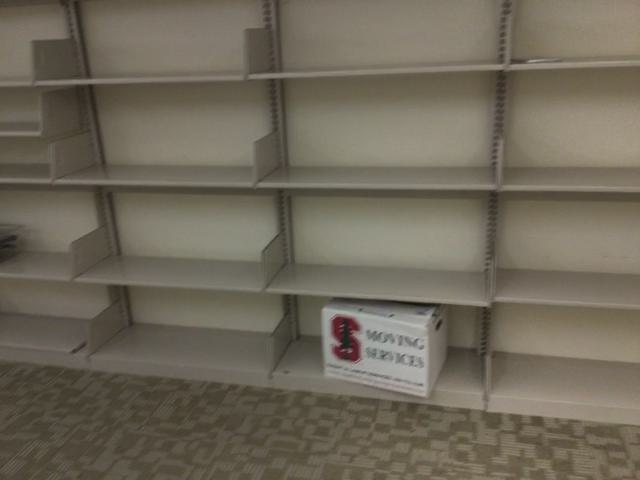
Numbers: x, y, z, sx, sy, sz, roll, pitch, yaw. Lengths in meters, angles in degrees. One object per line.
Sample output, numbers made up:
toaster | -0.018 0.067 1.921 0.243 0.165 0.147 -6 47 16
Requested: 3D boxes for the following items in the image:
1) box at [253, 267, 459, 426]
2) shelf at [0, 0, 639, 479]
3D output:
box | 0.160 0.420 2.440 0.780 0.420 0.400 6 19 13
shelf | 0.400 -0.190 2.150 4.020 1.810 0.540 6 19 13
